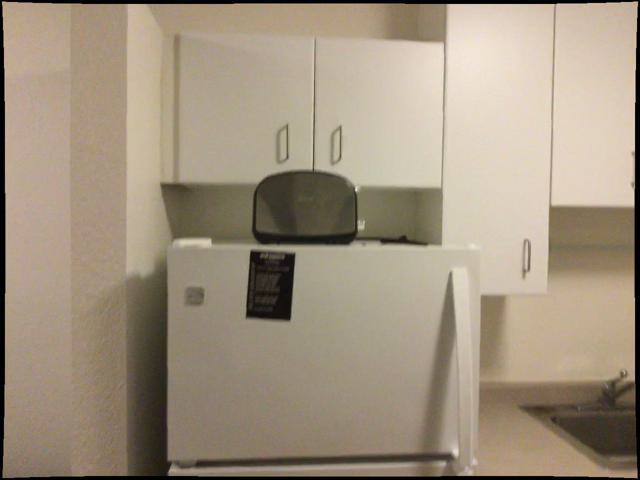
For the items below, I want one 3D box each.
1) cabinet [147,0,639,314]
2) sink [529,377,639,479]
[{"bbox_3d":[0.639,-0.360,1.880,2.258,1.101,0.420,0,3,-5],"label":"cabinet"},{"bbox_3d":[1.039,0.641,1.820,0.529,0.260,0.550,0,3,-5],"label":"sink"}]
